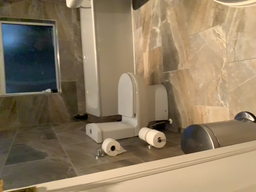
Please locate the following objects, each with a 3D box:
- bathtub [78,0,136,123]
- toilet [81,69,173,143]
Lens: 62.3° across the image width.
[{"bbox_3d":[-0.320,-0.570,2.970,0.670,0.540,1.760,-177,84,-65],"label":"bathtub"},{"bbox_3d":[-0.010,0.060,2.100,0.400,0.790,0.610,-176,83,-65],"label":"toilet"}]
